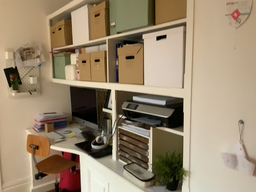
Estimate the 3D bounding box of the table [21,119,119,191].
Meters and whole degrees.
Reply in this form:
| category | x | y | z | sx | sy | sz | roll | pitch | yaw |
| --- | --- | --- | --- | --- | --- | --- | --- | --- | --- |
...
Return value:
| category | x | y | z | sx | sy | sz | roll | pitch | yaw |
| --- | --- | --- | --- | --- | --- | --- | --- | --- | --- |
| table | -0.700 | 0.820 | 2.460 | 0.720 | 0.830 | 1.030 | -6 | 10 | -38 |

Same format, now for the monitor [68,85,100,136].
| category | x | y | z | sx | sy | sz | roll | pitch | yaw |
| --- | --- | --- | --- | --- | --- | --- | --- | --- | --- |
| monitor | -0.530 | 0.140 | 2.490 | 0.060 | 0.500 | 0.670 | -6 | 10 | -38 |
